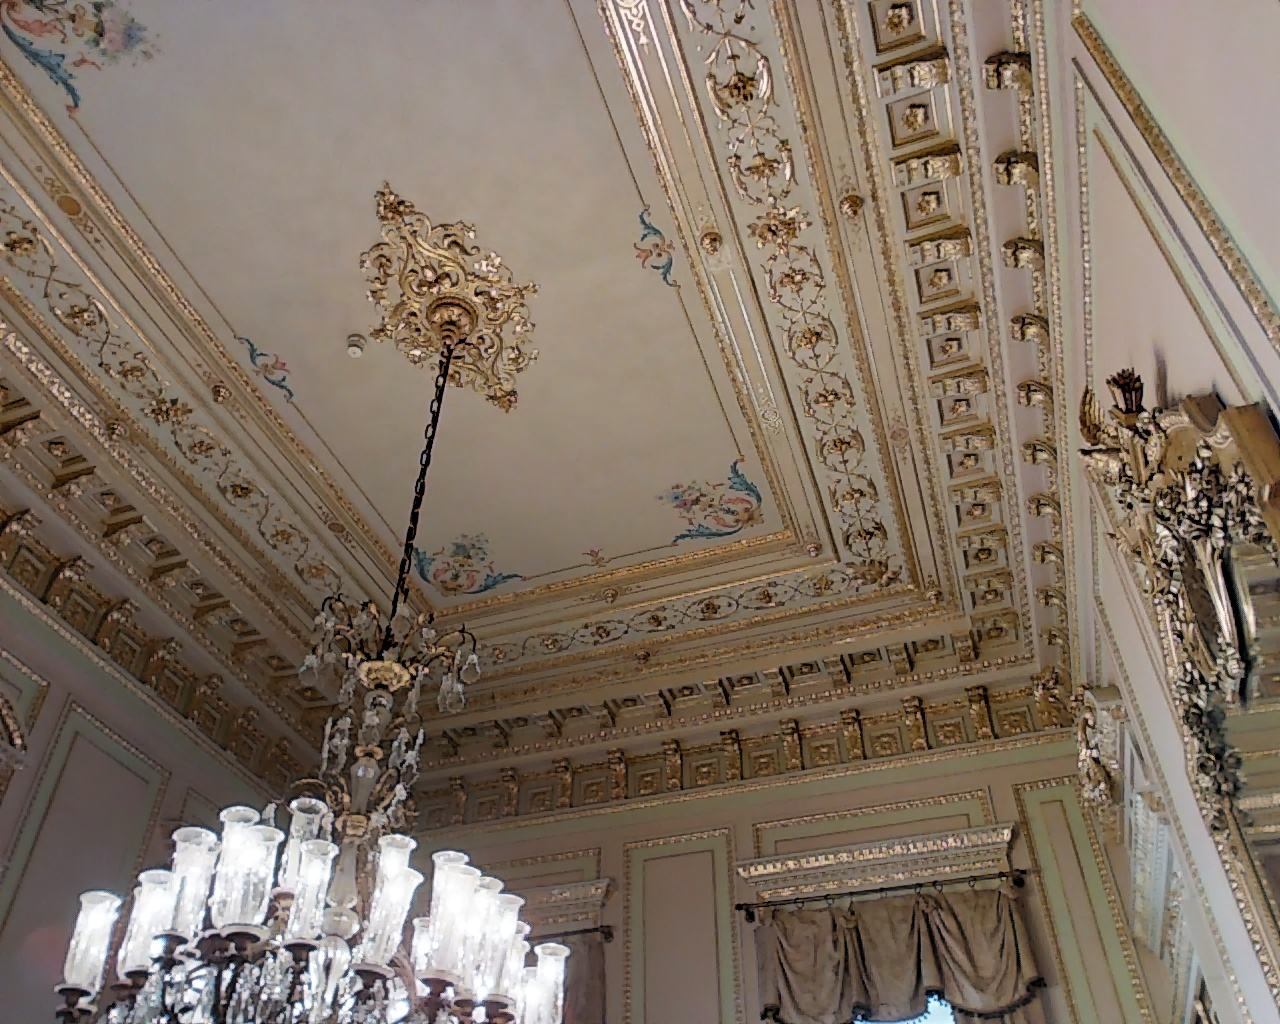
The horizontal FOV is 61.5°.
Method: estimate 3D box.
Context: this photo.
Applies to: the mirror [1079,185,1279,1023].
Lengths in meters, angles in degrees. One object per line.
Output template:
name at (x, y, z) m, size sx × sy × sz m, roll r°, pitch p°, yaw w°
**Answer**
mirror at (1.689, 0.881, 2.680) m, size 0.220 × 3.271 × 1.840 m, roll -13°, pitch -43°, yaw 14°
